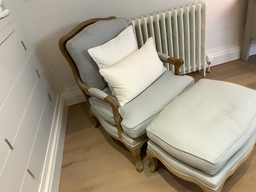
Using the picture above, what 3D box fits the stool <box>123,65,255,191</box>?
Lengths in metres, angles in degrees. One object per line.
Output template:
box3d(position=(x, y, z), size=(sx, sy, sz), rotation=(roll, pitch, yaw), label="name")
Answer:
box3d(position=(0.470, 0.200, 1.590), size=(0.830, 0.460, 0.450), rotation=(-31, 38, -24), label="stool")

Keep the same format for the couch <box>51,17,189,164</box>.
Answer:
box3d(position=(-0.040, -0.120, 1.880), size=(0.740, 0.840, 0.810), rotation=(-31, 38, -24), label="couch")
